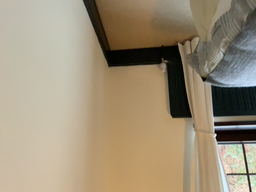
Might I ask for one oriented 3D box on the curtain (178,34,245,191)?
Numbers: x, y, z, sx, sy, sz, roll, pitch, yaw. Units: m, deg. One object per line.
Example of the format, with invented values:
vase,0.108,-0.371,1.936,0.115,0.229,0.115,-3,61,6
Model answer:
curtain,0.610,0.650,1.500,0.280,2.240,0.350,-3,163,7
